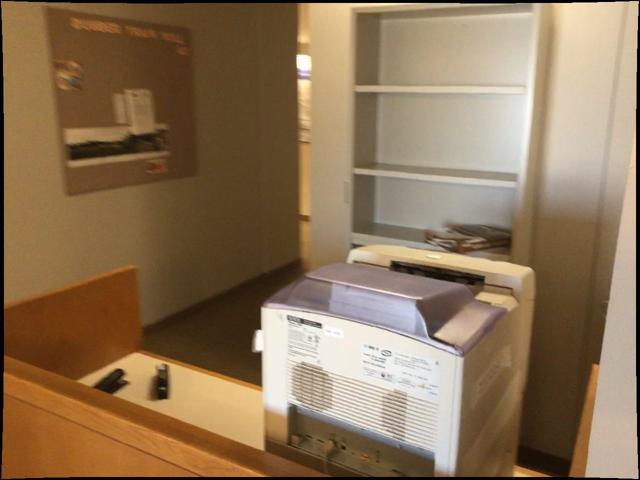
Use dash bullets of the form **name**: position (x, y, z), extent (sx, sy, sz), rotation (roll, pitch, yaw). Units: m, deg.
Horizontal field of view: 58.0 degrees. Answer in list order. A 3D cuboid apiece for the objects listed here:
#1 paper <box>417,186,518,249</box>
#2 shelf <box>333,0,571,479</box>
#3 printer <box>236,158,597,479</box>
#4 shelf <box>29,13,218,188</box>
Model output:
- **paper**: position (0.609, -0.100, 2.380), extent (0.340, 0.110, 0.230), rotation (-20, 28, -27)
- **shelf**: position (0.509, -0.050, 2.530), extent (0.799, 2.104, 0.360), rotation (12, 22, 30)
- **printer**: position (0.200, 0.291, 1.320), extent (0.489, 0.611, 0.580), rotation (27, 45, 14)
- **shelf**: position (-1.207, -0.852, 3.670), extent (0.070, 1.011, 1.159), rotation (35, 27, 21)
